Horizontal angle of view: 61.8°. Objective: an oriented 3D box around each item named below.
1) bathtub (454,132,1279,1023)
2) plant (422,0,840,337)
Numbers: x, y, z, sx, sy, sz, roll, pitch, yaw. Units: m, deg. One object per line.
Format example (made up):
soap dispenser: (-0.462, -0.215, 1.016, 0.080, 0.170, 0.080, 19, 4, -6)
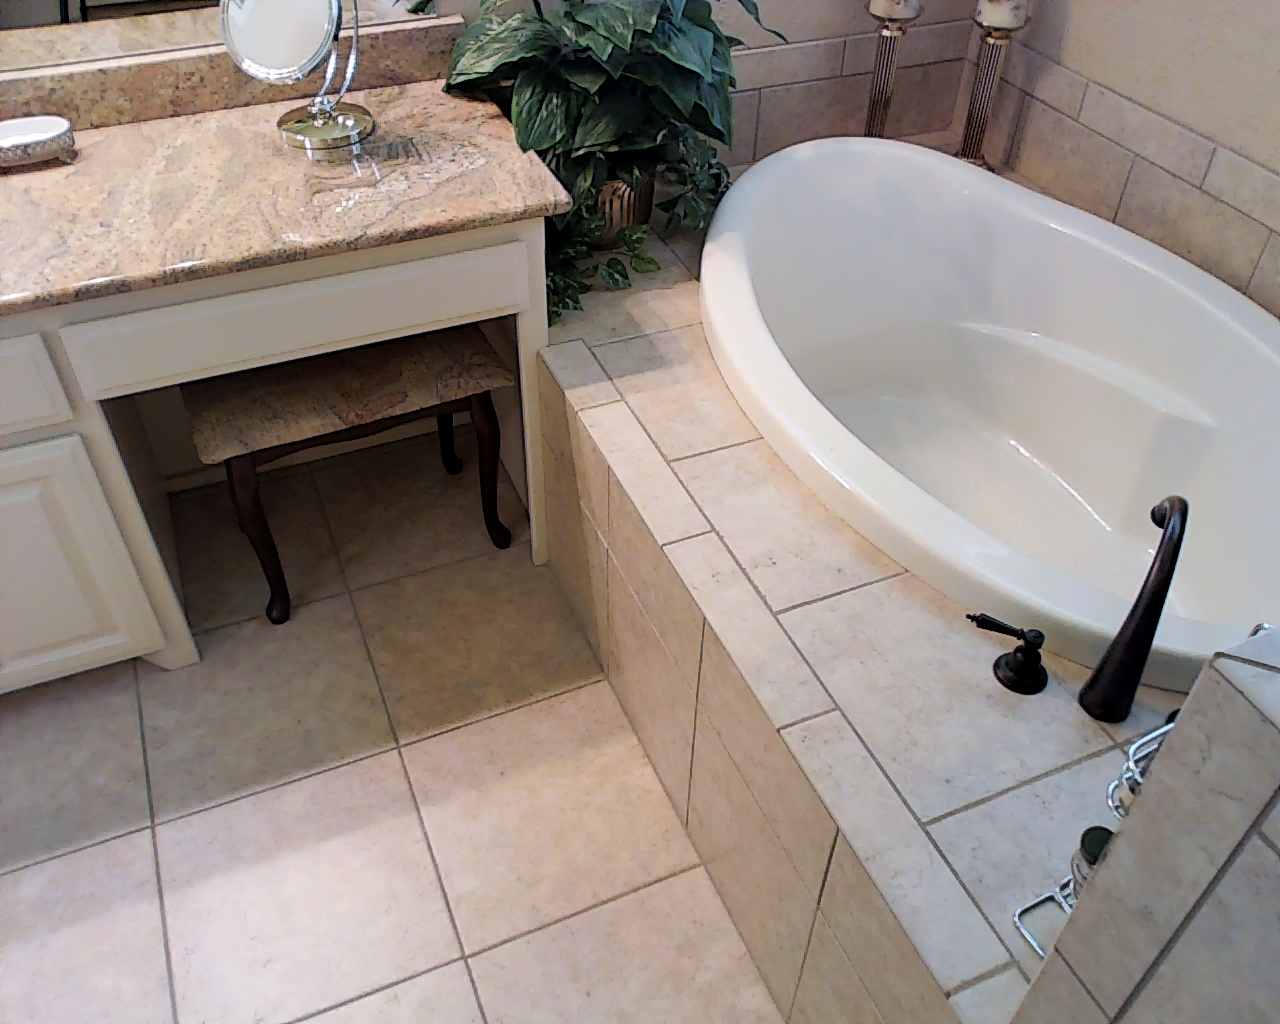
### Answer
bathtub: (0.560, 0.080, 1.970, 1.260, 0.690, 1.870, -15, 44, -18)
plant: (-0.040, -0.770, 1.930, 0.570, 0.640, 0.490, -15, 44, -18)
